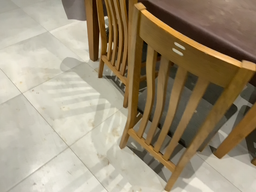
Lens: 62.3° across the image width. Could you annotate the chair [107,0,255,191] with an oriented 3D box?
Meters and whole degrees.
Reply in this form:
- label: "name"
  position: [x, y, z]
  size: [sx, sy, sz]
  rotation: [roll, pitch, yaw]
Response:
- label: "chair"
  position: [0.270, 0.030, 1.070]
  size: [0.450, 1.000, 0.570]
  rotation: [36, 54, 21]
